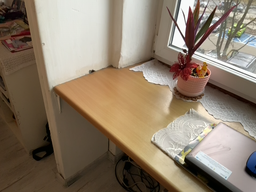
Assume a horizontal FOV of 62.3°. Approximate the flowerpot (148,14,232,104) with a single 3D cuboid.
[{"bbox_3d":[0.270,-0.180,1.000,0.180,0.310,0.260,-27,47,-37],"label":"flowerpot"}]
